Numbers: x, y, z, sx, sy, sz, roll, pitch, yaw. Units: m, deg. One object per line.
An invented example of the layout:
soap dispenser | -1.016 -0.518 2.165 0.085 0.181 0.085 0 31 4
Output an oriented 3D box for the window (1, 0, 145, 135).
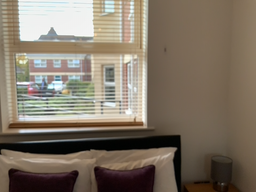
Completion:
window | -0.450 -0.360 1.890 1.190 1.390 0.100 -1 7 -5

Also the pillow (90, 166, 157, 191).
pillow | -0.030 0.640 1.320 0.400 0.360 0.170 1 -28 -3
